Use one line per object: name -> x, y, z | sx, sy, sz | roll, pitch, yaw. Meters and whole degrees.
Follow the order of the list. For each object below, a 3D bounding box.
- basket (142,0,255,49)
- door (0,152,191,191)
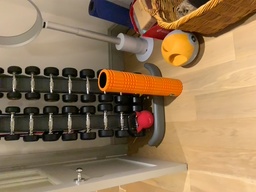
basket -> 0.450, -0.660, 1.220 | 0.610, 0.460, 0.510 | -16, 74, 53
door -> -0.590, 0.510, 1.330 | 0.770, 2.070, 0.050 | -14, 76, 54
